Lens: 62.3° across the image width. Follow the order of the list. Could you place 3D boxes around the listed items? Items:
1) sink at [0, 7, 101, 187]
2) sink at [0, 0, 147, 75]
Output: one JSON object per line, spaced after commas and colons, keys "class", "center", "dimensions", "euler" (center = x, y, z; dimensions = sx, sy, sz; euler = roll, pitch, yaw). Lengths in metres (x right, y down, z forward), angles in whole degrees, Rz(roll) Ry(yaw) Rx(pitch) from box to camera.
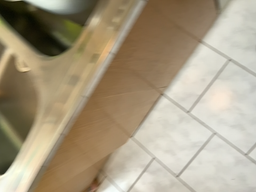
{"class": "sink", "center": [-0.350, -0.010, 0.650], "dimensions": [0.350, 0.200, 0.380], "euler": [41, 110, 17]}
{"class": "sink", "center": [-0.160, -0.290, 0.530], "dimensions": [0.350, 0.200, 0.330], "euler": [41, 110, 17]}
